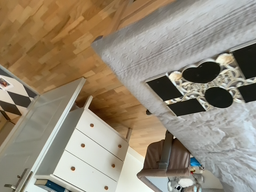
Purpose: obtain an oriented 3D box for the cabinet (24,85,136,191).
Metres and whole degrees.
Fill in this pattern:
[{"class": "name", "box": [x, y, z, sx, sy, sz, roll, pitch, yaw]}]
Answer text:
[{"class": "cabinet", "box": [-0.430, 0.520, 2.290, 0.450, 0.920, 0.780, -17, 131, 39]}]
